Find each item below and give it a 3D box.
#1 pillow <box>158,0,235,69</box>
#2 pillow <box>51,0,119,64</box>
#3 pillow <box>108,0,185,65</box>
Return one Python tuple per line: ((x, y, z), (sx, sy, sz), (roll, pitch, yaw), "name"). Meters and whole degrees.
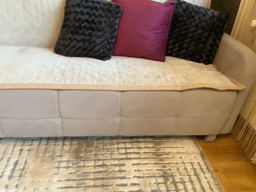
((0.440, -0.440, 1.470), (0.340, 0.370, 0.280), (7, 32, -8), "pillow")
((-0.270, -0.430, 1.340), (0.350, 0.340, 0.160), (13, 32, -11), "pillow")
((0.100, -0.450, 1.380), (0.360, 0.380, 0.170), (13, 32, -15), "pillow")
